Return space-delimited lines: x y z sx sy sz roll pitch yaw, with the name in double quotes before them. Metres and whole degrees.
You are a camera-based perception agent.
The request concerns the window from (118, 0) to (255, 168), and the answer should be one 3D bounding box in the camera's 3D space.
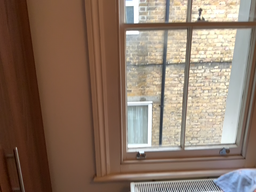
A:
"window" 0.290 -0.240 1.010 0.660 1.310 0.040 -2 17 -2
